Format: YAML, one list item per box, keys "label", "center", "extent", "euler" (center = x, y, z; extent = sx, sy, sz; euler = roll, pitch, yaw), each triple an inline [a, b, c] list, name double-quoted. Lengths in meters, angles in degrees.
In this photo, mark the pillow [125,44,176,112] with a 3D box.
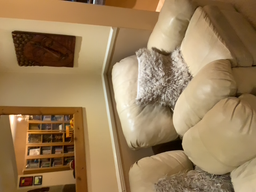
- label: "pillow"
  center: [0.210, -0.170, 1.850]
  extent: [0.150, 0.340, 0.530]
  euler: [112, 174, -54]
